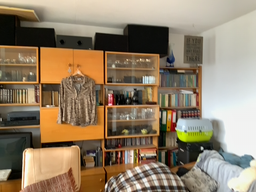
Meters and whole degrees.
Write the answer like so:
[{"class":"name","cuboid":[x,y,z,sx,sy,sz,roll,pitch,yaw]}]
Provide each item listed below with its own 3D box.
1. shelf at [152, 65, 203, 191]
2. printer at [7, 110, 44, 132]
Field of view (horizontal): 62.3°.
[{"class":"shelf","cuboid":[0.810,0.520,3.450,0.810,2.010,0.160,0,1,-14]},{"class":"printer","cuboid":[-1.390,0.330,2.910,0.390,0.260,0.290,0,1,-10]}]
